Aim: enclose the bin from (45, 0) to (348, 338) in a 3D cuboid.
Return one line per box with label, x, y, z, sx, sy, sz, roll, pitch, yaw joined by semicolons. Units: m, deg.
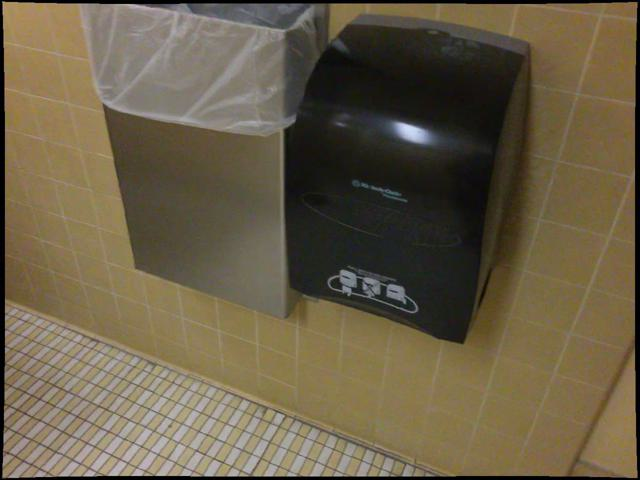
bin;-0.209;-0.301;1.080;0.449;0.962;0.250;15;39;17
